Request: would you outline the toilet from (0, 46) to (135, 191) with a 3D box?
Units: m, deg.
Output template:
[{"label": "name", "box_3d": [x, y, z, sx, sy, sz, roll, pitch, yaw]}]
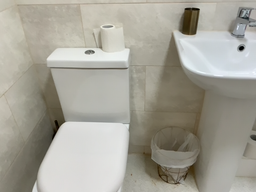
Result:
[{"label": "toilet", "box_3d": [-0.200, 0.250, 1.030, 0.410, 0.790, 0.610, 2, 35, 6]}]

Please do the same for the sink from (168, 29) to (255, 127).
[{"label": "sink", "box_3d": [0.460, -0.100, 0.830, 0.560, 0.180, 0.450, 2, 35, 5]}]

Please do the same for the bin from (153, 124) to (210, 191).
[{"label": "bin", "box_3d": [0.290, 0.370, 1.260, 0.260, 0.280, 0.290, 1, 34, 4]}]
